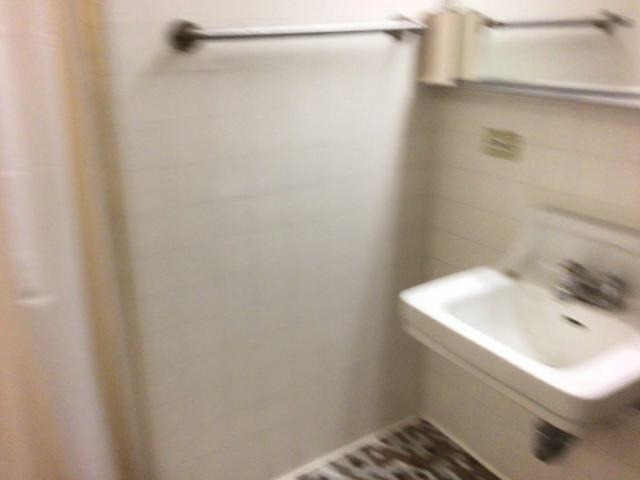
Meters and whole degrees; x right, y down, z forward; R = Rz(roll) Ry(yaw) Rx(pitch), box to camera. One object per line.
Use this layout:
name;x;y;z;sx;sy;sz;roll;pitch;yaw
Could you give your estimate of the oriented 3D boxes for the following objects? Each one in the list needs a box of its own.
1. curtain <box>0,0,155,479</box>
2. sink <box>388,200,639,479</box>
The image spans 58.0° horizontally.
curtain;-0.700;0.010;1.420;0.330;1.700;0.300;-1;18;-1
sink;0.500;0.170;1.280;0.450;0.350;0.540;-12;21;-30
